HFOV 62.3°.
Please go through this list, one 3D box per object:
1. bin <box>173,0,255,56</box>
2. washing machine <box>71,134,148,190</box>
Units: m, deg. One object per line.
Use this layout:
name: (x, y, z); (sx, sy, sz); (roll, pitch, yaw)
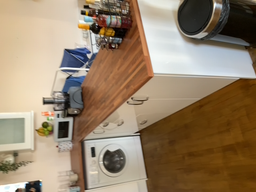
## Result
bin: (0.670, -0.500, 1.400); (0.260, 0.660, 0.310); (-40, 54, 57)
washing machine: (-0.300, 0.950, 3.090); (0.610, 0.900, 0.610); (-40, 54, 57)
